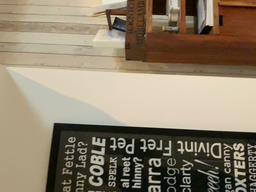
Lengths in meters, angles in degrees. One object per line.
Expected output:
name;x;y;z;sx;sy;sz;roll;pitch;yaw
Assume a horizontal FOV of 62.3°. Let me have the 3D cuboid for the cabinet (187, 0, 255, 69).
cabinet;0.690;-0.460;1.470;0.490;0.420;0.410;97;176;-83
